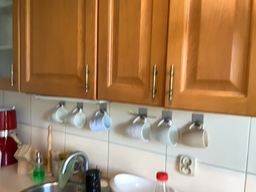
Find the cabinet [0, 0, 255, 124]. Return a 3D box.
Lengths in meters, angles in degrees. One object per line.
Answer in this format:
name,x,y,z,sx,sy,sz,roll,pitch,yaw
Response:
cabinet,-0.410,-0.410,1.180,2.050,0.790,0.350,6,6,29
